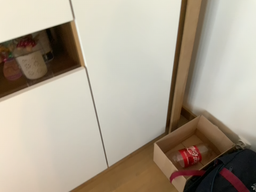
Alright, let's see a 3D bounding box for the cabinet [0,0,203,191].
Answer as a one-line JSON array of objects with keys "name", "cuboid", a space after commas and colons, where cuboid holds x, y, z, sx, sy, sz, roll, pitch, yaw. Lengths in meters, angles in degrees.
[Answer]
[{"name": "cabinet", "cuboid": [-0.290, -0.090, 0.940, 1.100, 1.280, 0.480, -27, 49, -22]}]
